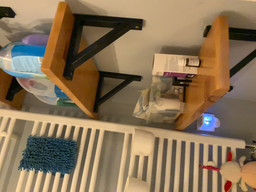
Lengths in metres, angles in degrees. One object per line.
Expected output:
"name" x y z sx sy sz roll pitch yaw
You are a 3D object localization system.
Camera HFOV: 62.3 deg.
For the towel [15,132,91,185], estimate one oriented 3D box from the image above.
"towel" -0.320 0.270 0.930 0.060 0.280 0.180 83 -165 -74
